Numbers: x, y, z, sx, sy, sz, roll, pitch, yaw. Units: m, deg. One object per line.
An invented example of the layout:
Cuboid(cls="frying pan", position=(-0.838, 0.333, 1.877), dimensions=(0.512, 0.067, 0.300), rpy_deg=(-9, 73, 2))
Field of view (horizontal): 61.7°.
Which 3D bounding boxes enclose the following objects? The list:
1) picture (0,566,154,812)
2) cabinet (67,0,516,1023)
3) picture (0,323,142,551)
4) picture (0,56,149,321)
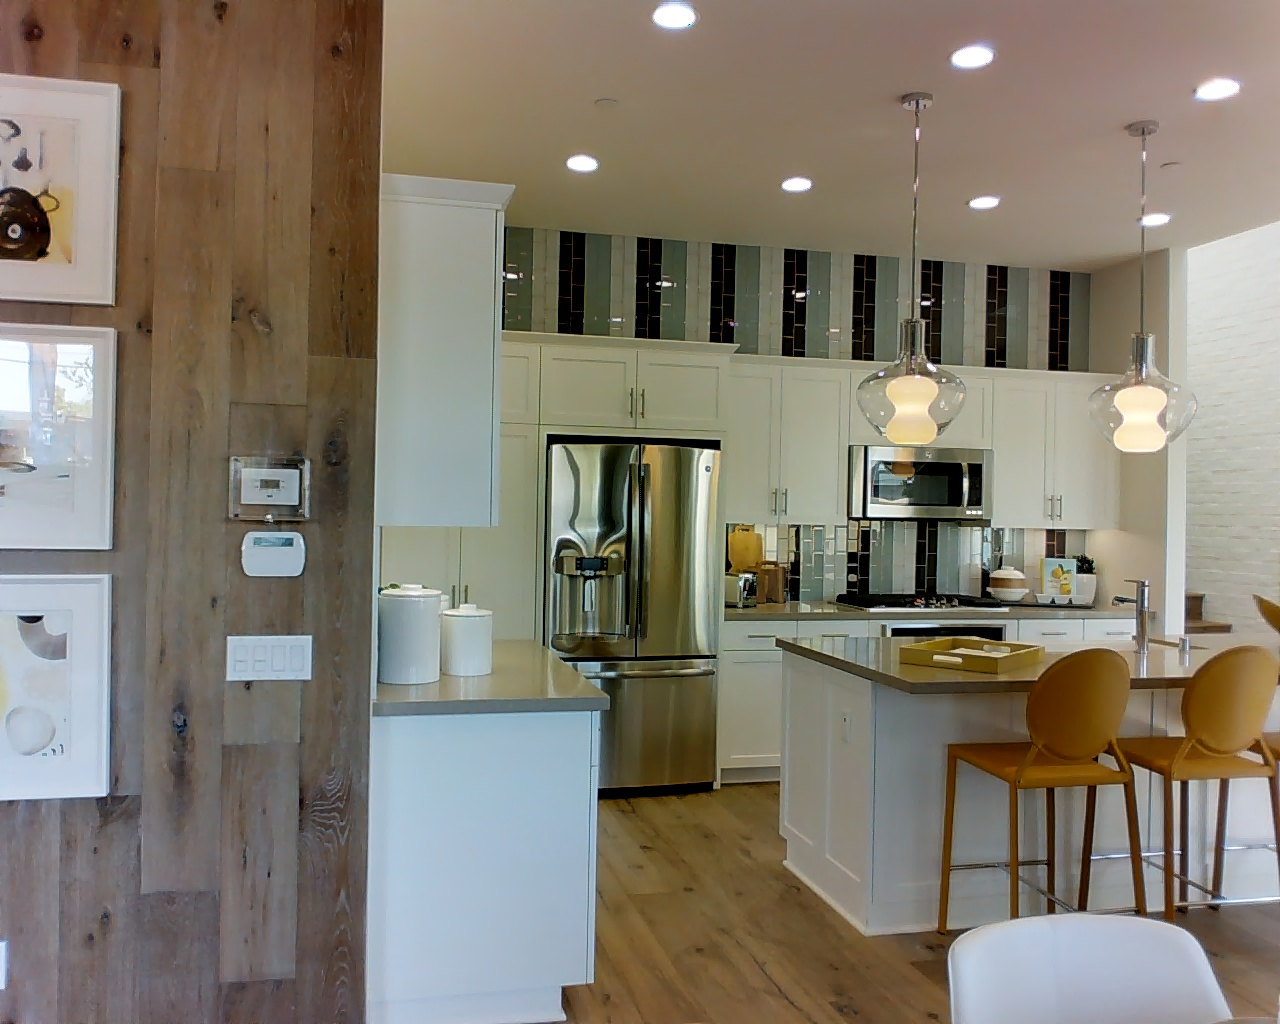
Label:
Cuboid(cls="picture", position=(-1.519, 0.430, 2.620), dimensions=(0.600, 0.590, 0.050), rpy_deg=(1, 0, -14))
Cuboid(cls="cabinet", position=(-0.790, 0.160, 2.700), dimensions=(0.700, 2.321, 1.870), rpy_deg=(1, 0, -14))
Cuboid(cls="picture", position=(-1.519, -0.180, 2.610), dimensions=(0.550, 0.550, 0.050), rpy_deg=(1, 0, -14))
Cuboid(cls="picture", position=(-1.519, -0.790, 2.610), dimensions=(0.580, 0.610, 0.060), rpy_deg=(1, 0, -14))
